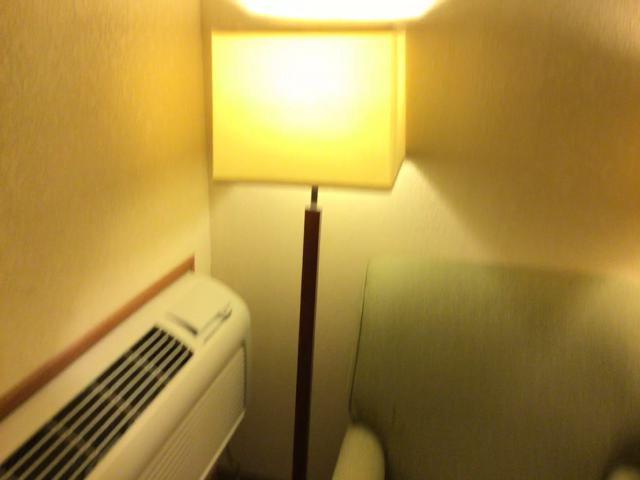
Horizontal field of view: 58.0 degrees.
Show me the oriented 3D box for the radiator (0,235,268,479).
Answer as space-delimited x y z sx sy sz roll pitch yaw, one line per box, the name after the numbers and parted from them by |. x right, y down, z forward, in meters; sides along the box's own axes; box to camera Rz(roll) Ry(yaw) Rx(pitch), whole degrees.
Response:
-0.390 0.420 1.190 0.190 0.540 1.150 6 18 13 | radiator
